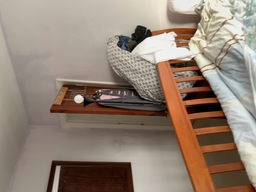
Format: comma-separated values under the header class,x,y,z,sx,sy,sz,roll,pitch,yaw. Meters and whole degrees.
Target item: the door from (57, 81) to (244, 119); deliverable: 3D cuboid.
class,x,y,z,sx,sy,sz,roll,pitch,yaw
door,0.240,0.030,2.480,0.790,1.920,0.040,-107,21,-66
